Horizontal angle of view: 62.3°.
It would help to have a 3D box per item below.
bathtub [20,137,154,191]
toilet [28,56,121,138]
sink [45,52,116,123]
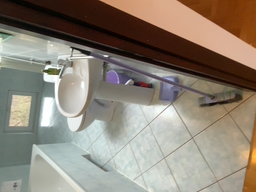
[{"bbox_3d":[-0.650,1.040,2.440,1.950,0.540,0.670,8,91,49],"label":"bathtub"},{"bbox_3d":[-0.560,0.020,2.280,0.440,0.770,0.730,11,93,49],"label":"toilet"},{"bbox_3d":[-0.390,-0.080,1.610,0.590,0.220,0.450,11,93,49],"label":"sink"}]
